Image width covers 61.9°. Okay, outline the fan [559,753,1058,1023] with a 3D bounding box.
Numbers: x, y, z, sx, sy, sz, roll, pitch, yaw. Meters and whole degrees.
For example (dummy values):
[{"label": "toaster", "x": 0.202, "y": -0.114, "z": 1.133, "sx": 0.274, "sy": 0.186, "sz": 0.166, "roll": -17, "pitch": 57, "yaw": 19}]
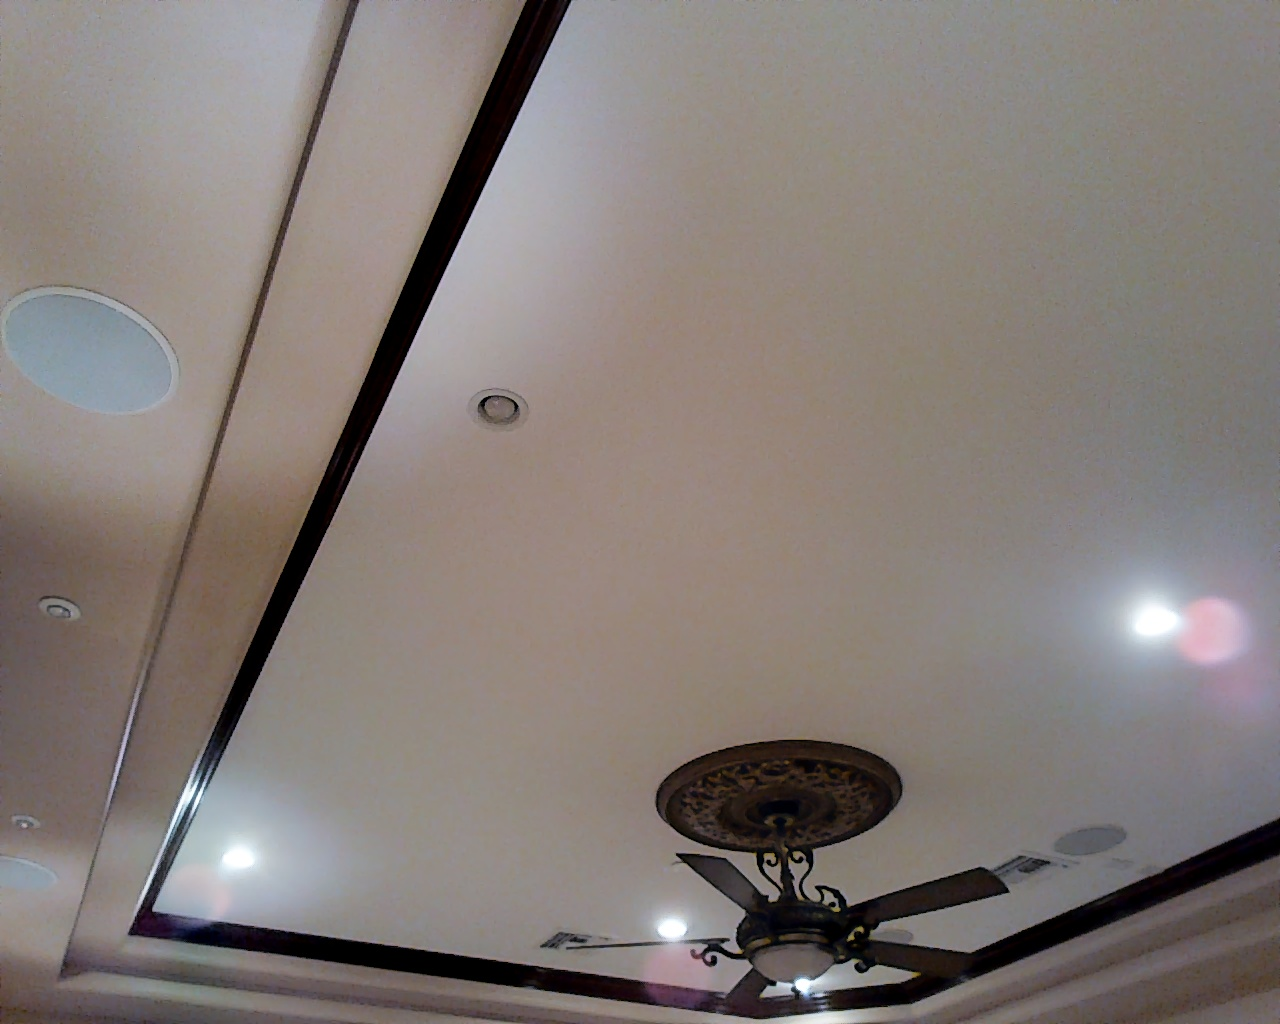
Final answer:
[{"label": "fan", "x": 0.580, "y": 1.250, "z": 3.480, "sx": 1.020, "sy": 0.590, "sz": 1.240, "roll": -29, "pitch": -25, "yaw": 30}]
